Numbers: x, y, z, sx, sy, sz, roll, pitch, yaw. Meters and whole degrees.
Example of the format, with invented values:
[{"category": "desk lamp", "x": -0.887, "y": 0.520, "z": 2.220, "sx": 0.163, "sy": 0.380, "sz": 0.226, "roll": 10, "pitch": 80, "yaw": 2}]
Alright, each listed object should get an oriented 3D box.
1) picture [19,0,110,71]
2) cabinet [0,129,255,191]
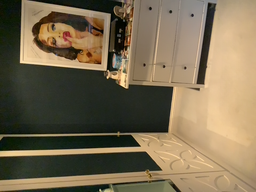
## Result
[{"category": "picture", "x": -0.710, "y": -0.670, "z": 2.440, "sx": 0.020, "sy": 0.980, "sz": 0.690, "roll": -148, "pitch": 62, "yaw": -71}, {"category": "cabinet", "x": -0.250, "y": 0.900, "z": 1.930, "sx": 1.730, "sy": 2.380, "sz": 0.700, "roll": -154, "pitch": 66, "yaw": -72}]
